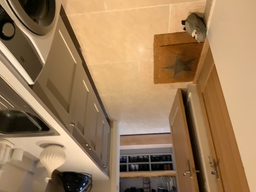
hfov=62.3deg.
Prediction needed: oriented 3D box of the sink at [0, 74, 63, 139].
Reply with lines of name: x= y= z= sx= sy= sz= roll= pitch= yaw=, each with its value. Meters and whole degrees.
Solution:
sink: x=-0.780 y=0.100 z=1.390 sx=0.510 sy=0.180 sz=0.510 roll=-4 pitch=148 yaw=5

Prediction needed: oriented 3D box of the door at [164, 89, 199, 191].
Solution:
door: x=0.620 y=0.990 z=2.450 sx=0.150 sy=1.950 sz=0.920 roll=-3 pitch=148 yaw=4
